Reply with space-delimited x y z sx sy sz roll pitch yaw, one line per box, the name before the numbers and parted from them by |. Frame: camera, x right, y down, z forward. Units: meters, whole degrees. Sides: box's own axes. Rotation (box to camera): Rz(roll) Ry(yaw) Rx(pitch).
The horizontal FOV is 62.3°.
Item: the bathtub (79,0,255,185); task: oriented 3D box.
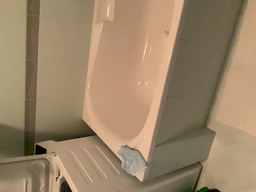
bathtub | 0.180 -0.350 1.260 0.730 0.550 1.380 31 118 48
